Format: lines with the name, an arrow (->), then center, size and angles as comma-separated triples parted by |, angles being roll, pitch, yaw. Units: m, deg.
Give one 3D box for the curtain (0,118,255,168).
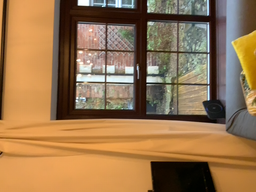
curtain -> -0.040, 0.330, 1.600 | 0.250, 1.960, 0.310 | 161, 110, -85
